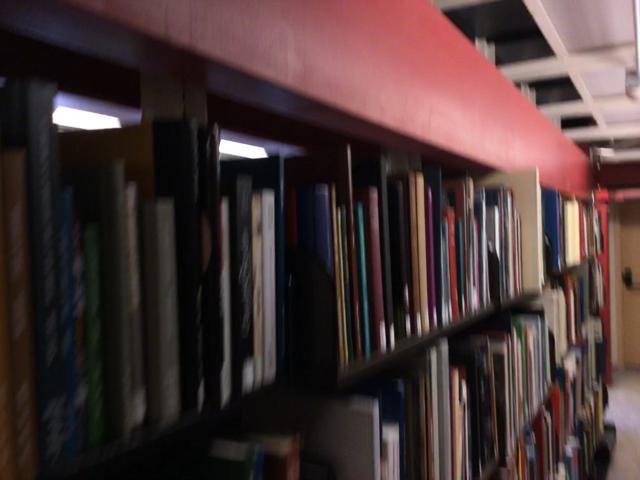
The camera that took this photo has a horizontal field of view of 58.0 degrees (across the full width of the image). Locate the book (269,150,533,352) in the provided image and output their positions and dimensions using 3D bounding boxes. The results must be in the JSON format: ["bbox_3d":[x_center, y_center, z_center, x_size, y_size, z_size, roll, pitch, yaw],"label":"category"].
[{"bbox_3d":[0.270,0.010,1.410,0.280,0.330,0.930,1,1,32],"label":"book"}]

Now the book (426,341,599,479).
[{"bbox_3d":[0.850,0.750,2.260,0.240,0.410,1.720,1,1,32],"label":"book"}]

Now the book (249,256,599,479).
[{"bbox_3d":[0.650,0.360,2.050,0.340,0.510,2.420,1,1,32],"label":"book"}]

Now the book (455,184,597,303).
[{"bbox_3d":[0.950,0.000,2.480,0.260,0.370,1.450,1,1,32],"label":"book"}]
